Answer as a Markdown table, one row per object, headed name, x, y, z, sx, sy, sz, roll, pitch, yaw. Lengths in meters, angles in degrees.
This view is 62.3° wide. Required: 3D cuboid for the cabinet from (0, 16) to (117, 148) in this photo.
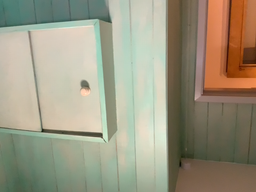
| name | x | y | z | sx | sy | sz | roll | pitch | yaw |
| --- | --- | --- | --- | --- | --- | --- | --- | --- | --- |
| cabinet | -0.360 | -0.060 | 0.910 | 0.600 | 0.480 | 0.130 | 2 | -166 | 17 |
